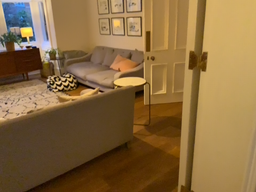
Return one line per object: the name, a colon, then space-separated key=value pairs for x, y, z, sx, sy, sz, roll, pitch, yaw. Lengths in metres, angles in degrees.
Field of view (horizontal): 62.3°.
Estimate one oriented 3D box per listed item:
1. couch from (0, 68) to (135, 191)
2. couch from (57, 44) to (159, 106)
couch: x=-1.100 y=0.380 z=1.890 sx=2.150 sy=0.760 sz=1.050 roll=-17 pitch=25 yaw=-35
couch: x=-0.510 y=-0.590 z=4.500 sx=1.070 sy=0.750 sz=2.130 roll=-18 pitch=26 yaw=-36
